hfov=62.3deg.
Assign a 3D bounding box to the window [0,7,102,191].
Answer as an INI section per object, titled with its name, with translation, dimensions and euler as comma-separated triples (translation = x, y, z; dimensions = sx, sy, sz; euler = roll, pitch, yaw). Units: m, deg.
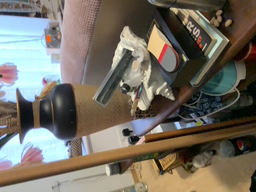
[window]
translation = -0.850, -0.070, 1.420
dimensions = 0.240, 1.040, 1.320
euler = -59, 43, 50
